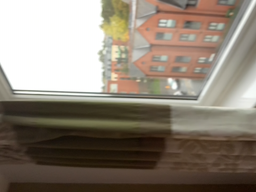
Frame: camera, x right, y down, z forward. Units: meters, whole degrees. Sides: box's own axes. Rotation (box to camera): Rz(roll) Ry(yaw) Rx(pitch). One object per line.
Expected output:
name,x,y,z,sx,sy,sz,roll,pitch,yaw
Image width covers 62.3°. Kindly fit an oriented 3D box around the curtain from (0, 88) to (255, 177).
curtain,0.270,0.250,1.100,0.670,2.280,0.150,99,172,-55
